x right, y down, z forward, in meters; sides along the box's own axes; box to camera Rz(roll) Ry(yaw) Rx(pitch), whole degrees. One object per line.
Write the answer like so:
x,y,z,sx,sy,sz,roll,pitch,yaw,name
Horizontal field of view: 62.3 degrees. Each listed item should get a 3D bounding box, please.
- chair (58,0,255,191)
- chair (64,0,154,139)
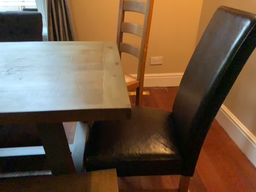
0.120,0.100,1.090,0.650,1.050,0.520,2,28,1,chair
-0.150,-0.260,1.770,0.490,1.040,0.440,-20,34,-33,chair
